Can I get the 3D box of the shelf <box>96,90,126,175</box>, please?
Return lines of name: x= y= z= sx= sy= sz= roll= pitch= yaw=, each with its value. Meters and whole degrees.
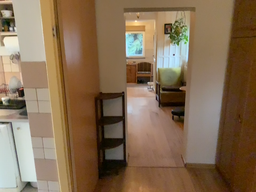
shelf: x=-0.190 y=0.440 z=2.600 sx=0.290 sy=0.970 sz=0.300 roll=1 pitch=15 yaw=6

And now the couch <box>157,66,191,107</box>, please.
couch: x=1.220 y=-0.300 z=5.850 sx=0.740 sy=0.940 sz=0.950 roll=1 pitch=15 yaw=3
